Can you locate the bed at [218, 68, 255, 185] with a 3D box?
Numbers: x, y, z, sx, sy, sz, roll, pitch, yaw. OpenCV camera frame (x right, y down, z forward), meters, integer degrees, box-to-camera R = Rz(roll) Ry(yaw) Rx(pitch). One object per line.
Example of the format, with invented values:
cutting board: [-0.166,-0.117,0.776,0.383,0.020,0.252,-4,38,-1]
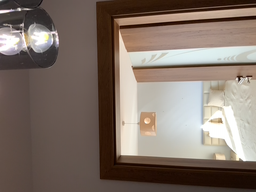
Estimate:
bed: [2.170,0.370,3.860,2.160,0.520,1.590,-13,-78,-79]
